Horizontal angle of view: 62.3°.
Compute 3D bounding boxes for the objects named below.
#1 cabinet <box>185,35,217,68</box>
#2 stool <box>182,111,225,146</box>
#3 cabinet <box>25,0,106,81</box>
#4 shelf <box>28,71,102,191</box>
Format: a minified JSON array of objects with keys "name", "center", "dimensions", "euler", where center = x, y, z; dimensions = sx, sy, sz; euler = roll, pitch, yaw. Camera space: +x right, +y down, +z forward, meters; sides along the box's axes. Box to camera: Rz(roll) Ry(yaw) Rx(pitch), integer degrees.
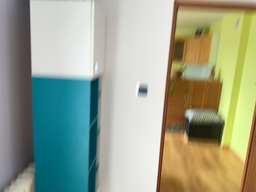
[{"name":"cabinet","center":[1.860,-1.150,5.550],"dimensions":[0.470,0.740,1.110],"euler":[5,10,4]},{"name":"stool","center":[1.510,0.650,4.320],"dimensions":[0.670,0.530,0.440],"euler":[5,10,4]},{"name":"cabinet","center":[-0.420,-0.390,1.540],"dimensions":[0.420,0.480,0.460],"euler":[4,10,2]},{"name":"shelf","center":[-0.470,0.320,1.680],"dimensions":[0.410,0.980,0.450],"euler":[4,10,2]}]
